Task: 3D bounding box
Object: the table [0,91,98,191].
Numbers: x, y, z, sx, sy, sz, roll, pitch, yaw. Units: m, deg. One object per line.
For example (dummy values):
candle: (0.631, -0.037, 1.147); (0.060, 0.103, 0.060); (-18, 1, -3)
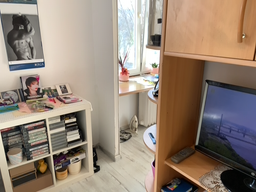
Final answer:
table: (-0.770, 0.440, 2.070); (0.790, 0.770, 0.460); (-13, 22, -36)
